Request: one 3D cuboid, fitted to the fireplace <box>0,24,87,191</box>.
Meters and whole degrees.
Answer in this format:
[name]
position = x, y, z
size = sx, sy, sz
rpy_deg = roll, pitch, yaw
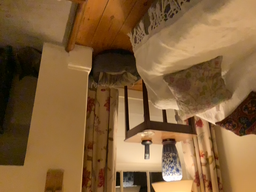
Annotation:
[fireplace]
position = -1.140, 0.190, 1.470
size = 1.530, 1.280, 0.670
rpy_deg = 7, 155, -20
